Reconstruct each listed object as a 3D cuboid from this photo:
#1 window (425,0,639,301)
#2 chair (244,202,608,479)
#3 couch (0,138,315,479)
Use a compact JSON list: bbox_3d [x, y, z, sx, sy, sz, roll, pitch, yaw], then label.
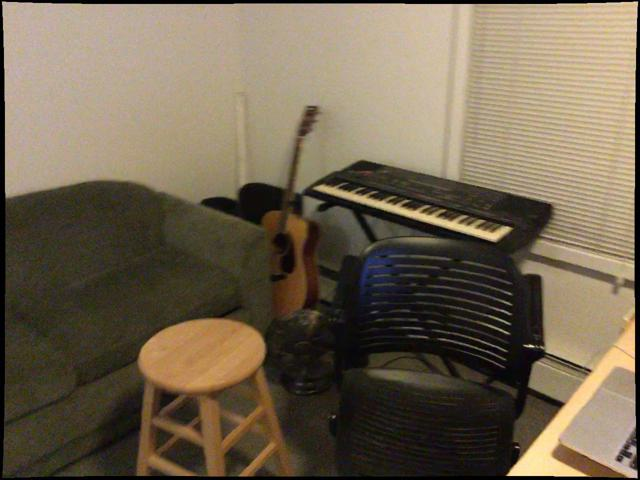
[{"bbox_3d":[0.899,-0.701,1.870,1.029,1.721,0.200,20,31,37],"label":"window"},{"bbox_3d":[0.260,0.290,1.500,0.650,0.500,0.600,20,31,37],"label":"chair"},{"bbox_3d":[-1.009,0.260,2.180,0.830,0.781,2.049,20,31,37],"label":"couch"}]
